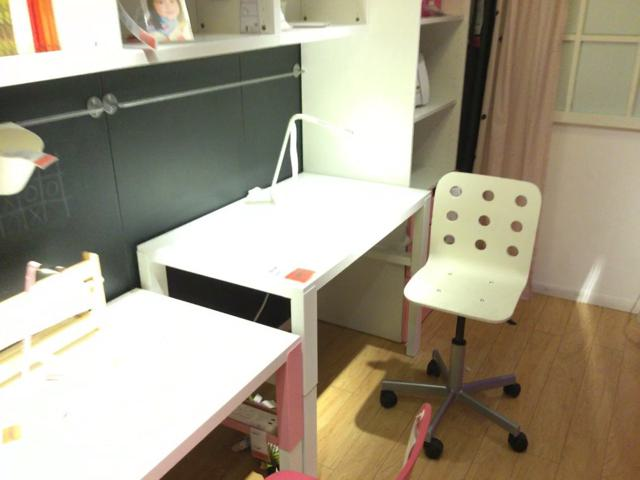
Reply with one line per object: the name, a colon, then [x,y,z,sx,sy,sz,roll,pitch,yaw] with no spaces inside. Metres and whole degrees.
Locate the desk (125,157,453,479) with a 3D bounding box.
desk: [-0.020,0.190,2.120,0.640,0.770,1.050,9,22,32]

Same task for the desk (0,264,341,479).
desk: [-0.510,0.600,1.350,0.630,0.680,1.090,9,22,32]

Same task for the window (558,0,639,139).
window: [1.260,-0.860,2.200,0.580,0.930,0.100,9,22,32]
